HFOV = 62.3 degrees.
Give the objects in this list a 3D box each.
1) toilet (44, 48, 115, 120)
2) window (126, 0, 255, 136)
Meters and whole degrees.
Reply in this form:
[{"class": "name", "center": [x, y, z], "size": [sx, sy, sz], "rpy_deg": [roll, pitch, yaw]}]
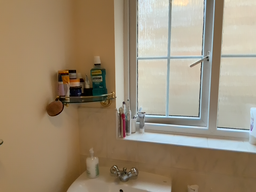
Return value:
[{"class": "toilet", "center": [-0.240, -0.080, 1.150], "size": [0.250, 0.330, 0.310], "rpy_deg": [3, 9, 16]}, {"class": "window", "center": [0.560, -0.240, 1.310], "size": [1.180, 0.950, 0.050], "rpy_deg": [3, 9, 17]}]
